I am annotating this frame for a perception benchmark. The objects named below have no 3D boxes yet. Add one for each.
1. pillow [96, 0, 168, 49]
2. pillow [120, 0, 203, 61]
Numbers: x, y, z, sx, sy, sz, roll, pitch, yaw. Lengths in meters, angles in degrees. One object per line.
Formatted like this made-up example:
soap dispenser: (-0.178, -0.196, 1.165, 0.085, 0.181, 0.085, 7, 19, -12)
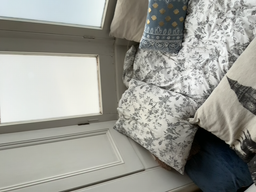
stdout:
pillow: (0.020, -0.560, 1.420, 0.410, 0.250, 0.110, -40, 29, 15)
pillow: (0.210, -0.500, 1.330, 0.460, 0.260, 0.250, -62, 30, 0)
